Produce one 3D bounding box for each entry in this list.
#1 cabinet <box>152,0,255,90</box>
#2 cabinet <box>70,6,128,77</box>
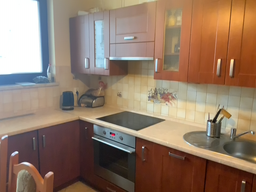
[{"bbox_3d":[0.820,-0.460,1.710,1.240,0.740,0.330,10,13,40],"label":"cabinet"},{"bbox_3d":[-0.390,-0.670,2.740,0.720,0.770,0.330,10,13,40],"label":"cabinet"}]
